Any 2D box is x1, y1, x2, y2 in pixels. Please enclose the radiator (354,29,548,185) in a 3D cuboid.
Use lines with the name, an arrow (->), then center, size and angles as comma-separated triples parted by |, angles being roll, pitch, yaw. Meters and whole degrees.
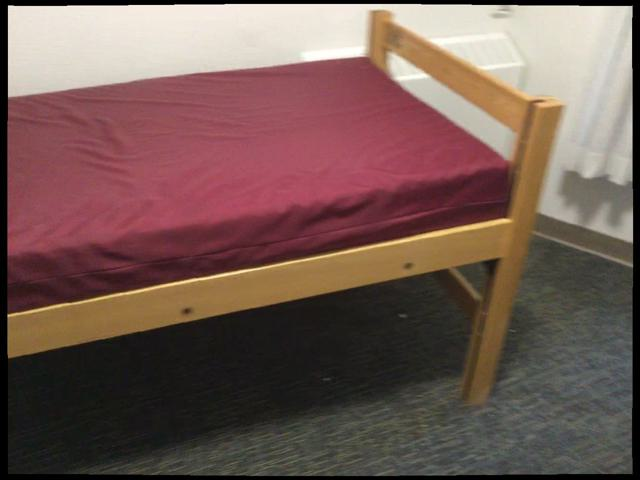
radiator -> 0.529, -0.561, 2.410 | 0.729, 0.501, 0.210 | -12, 37, -17
